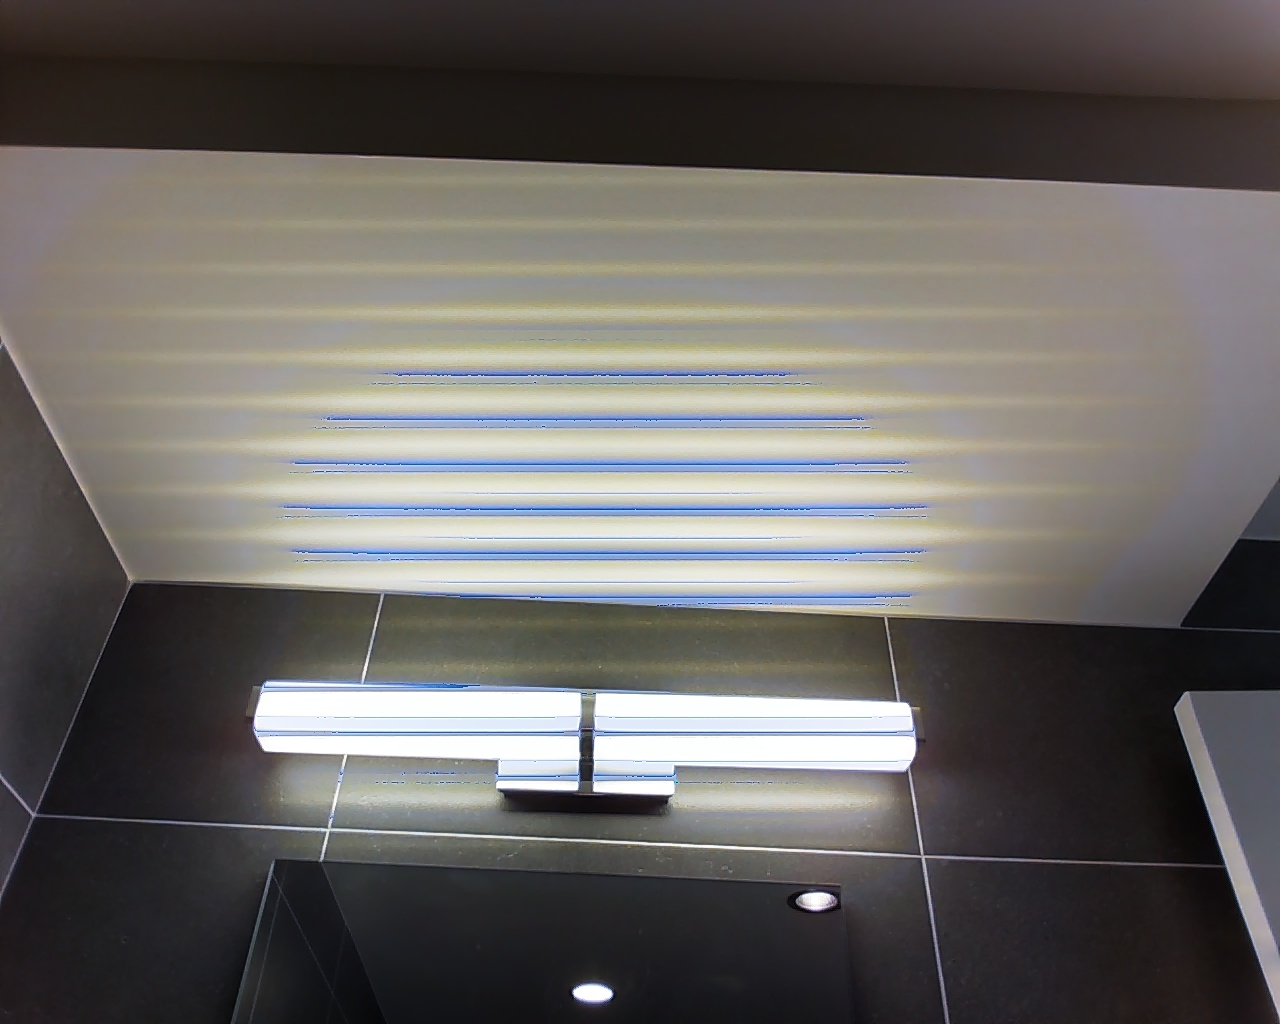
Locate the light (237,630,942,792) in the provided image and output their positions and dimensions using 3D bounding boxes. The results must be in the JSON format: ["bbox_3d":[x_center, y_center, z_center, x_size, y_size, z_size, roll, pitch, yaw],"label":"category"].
[{"bbox_3d":[-0.050,0.210,1.140,0.700,0.110,0.090,2,-41,0],"label":"light"}]
